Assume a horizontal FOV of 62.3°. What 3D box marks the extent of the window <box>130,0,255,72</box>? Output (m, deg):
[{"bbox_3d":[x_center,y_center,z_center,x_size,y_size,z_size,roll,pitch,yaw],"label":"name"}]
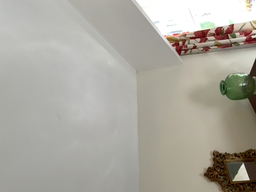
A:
[{"bbox_3d":[0.690,-0.740,2.250,0.220,1.300,0.990,78,-171,-48],"label":"window"}]
